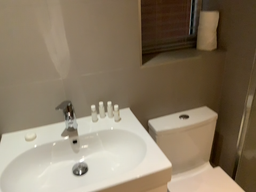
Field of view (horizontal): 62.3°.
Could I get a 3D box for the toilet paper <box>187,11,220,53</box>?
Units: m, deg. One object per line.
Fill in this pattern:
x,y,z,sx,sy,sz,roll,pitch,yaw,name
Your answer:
0.440,-0.380,1.250,0.100,0.210,0.130,-11,27,-17,toilet paper
